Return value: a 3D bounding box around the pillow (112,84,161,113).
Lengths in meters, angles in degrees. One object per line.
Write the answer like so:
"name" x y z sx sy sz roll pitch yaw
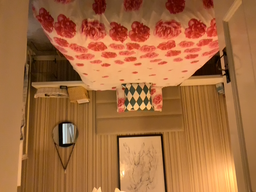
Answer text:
"pillow" 0.120 0.040 3.180 0.670 0.350 0.330 -3 169 0

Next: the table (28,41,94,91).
"table" -1.010 -0.450 3.330 0.860 0.630 0.470 -3 169 0

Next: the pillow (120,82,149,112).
"pillow" 0.090 0.020 2.930 0.360 0.360 0.210 -3 169 2
